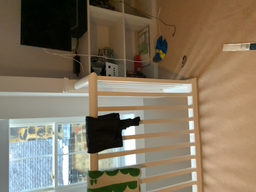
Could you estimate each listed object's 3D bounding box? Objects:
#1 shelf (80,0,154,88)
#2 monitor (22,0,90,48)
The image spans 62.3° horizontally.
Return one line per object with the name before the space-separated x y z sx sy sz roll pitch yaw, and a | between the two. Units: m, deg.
shelf | -0.140 -1.160 2.420 0.320 0.740 2.100 -7 84 61
monitor | -0.660 -0.810 1.980 0.060 0.590 0.680 171 98 -67
